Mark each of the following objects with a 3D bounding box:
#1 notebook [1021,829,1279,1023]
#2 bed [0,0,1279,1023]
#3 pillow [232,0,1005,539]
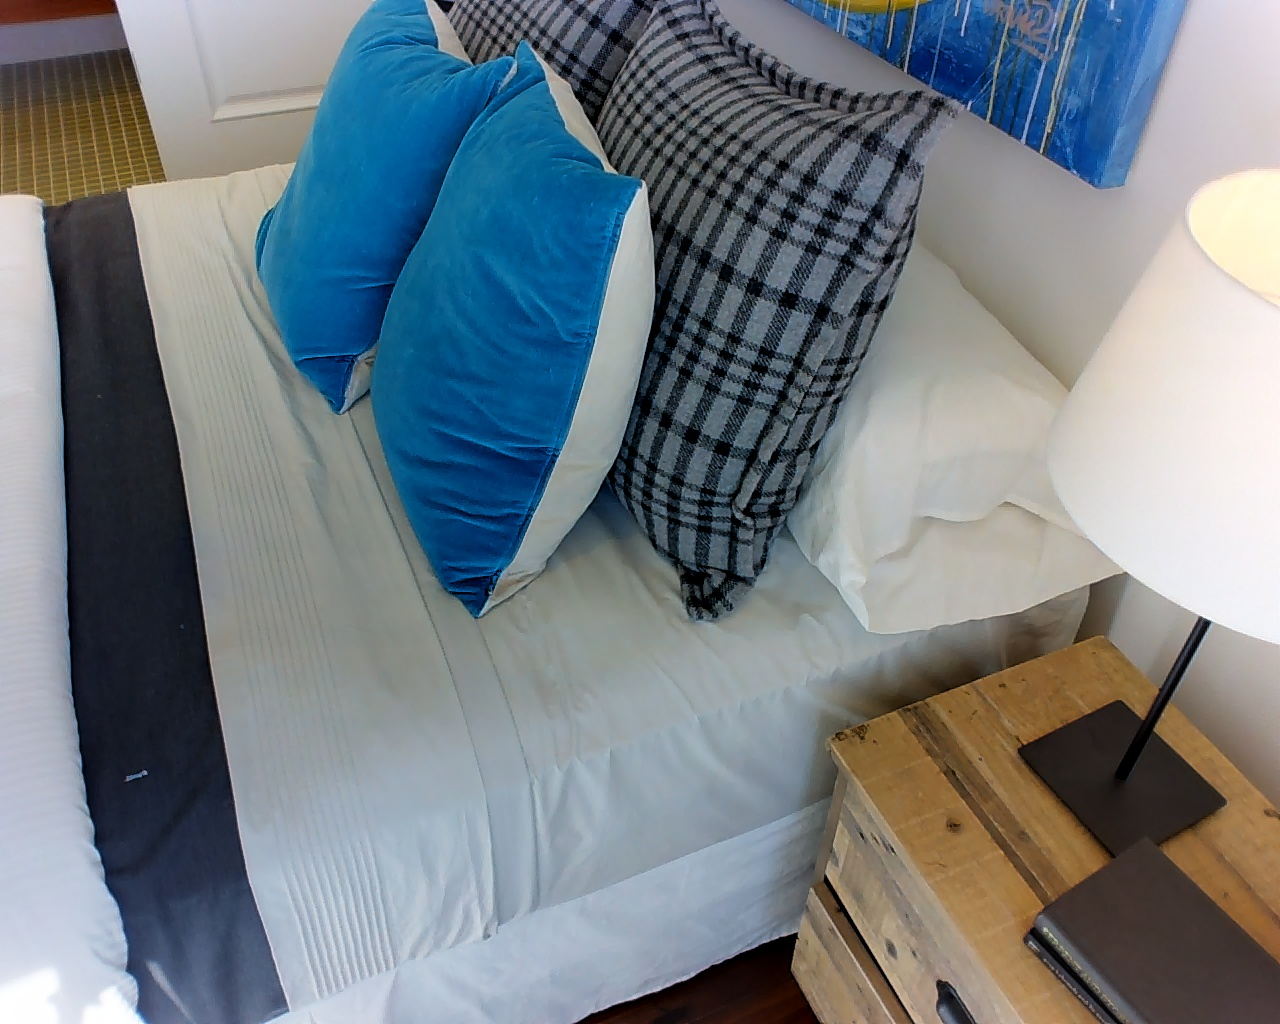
[{"bbox_3d":[0.480,0.410,0.940,0.170,0.040,0.220,-21,46,-23],"label":"notebook"},{"bbox_3d":[-0.790,-0.100,1.520,2.210,1.110,1.920,-16,45,-18],"label":"bed"},{"bbox_3d":[-0.190,-0.500,1.500,0.530,0.700,1.350,-16,16,-18],"label":"pillow"}]
